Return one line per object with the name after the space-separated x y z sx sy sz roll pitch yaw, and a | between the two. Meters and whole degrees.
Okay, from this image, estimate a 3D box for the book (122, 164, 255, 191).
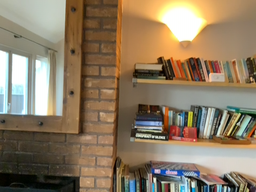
0.550 0.760 1.690 1.180 0.300 0.210 2 2 4 | book

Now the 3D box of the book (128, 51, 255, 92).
0.640 -0.190 1.720 1.270 0.290 0.160 2 2 3 | book

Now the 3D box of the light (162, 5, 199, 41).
0.430 -0.600 1.760 0.280 0.260 0.120 2 2 7 | light

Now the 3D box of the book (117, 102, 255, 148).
0.610 0.230 1.740 1.370 0.290 0.240 2 2 4 | book
